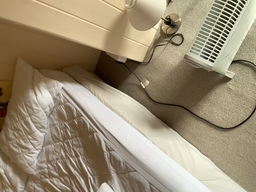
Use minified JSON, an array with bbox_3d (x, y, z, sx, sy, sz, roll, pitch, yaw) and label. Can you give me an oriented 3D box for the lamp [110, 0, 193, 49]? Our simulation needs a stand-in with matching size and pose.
[{"bbox_3d":[0.160,-0.480,1.290,0.230,0.450,0.220,35,109,36],"label":"lamp"}]
